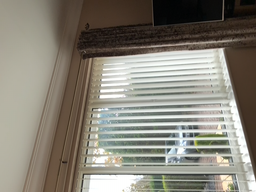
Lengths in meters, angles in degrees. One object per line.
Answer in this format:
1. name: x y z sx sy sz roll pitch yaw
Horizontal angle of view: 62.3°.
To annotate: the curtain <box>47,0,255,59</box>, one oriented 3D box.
1. curtain: 0.380 -0.730 2.290 0.310 2.420 0.390 76 -166 -58
